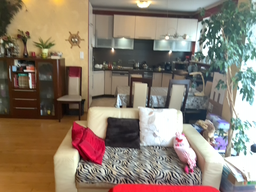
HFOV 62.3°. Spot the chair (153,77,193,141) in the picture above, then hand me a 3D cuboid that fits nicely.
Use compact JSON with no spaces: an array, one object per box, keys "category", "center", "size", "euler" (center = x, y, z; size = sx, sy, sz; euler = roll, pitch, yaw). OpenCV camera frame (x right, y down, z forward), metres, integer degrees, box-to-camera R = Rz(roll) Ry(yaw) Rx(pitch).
[{"category":"chair","center":[0.730,0.200,3.570],"size":[0.440,0.970,0.470],"euler":[2,13,-7]}]

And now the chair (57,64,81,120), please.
[{"category":"chair","center":[-1.190,-0.110,4.320],"size":[0.330,1.030,0.570],"euler":[3,13,-2]}]

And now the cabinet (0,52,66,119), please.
[{"category":"cabinet","center":[-1.990,-0.230,4.260],"size":[1.300,1.210,0.590],"euler":[3,13,-2]}]

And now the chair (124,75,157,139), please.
[{"category":"chair","center":[0.180,0.170,3.570],"size":[0.440,0.970,0.470],"euler":[2,13,-4]}]

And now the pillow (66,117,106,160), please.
[{"category":"pillow","center":[-0.400,0.410,2.140],"size":[0.350,0.230,0.510],"euler":[2,13,-6]}]
